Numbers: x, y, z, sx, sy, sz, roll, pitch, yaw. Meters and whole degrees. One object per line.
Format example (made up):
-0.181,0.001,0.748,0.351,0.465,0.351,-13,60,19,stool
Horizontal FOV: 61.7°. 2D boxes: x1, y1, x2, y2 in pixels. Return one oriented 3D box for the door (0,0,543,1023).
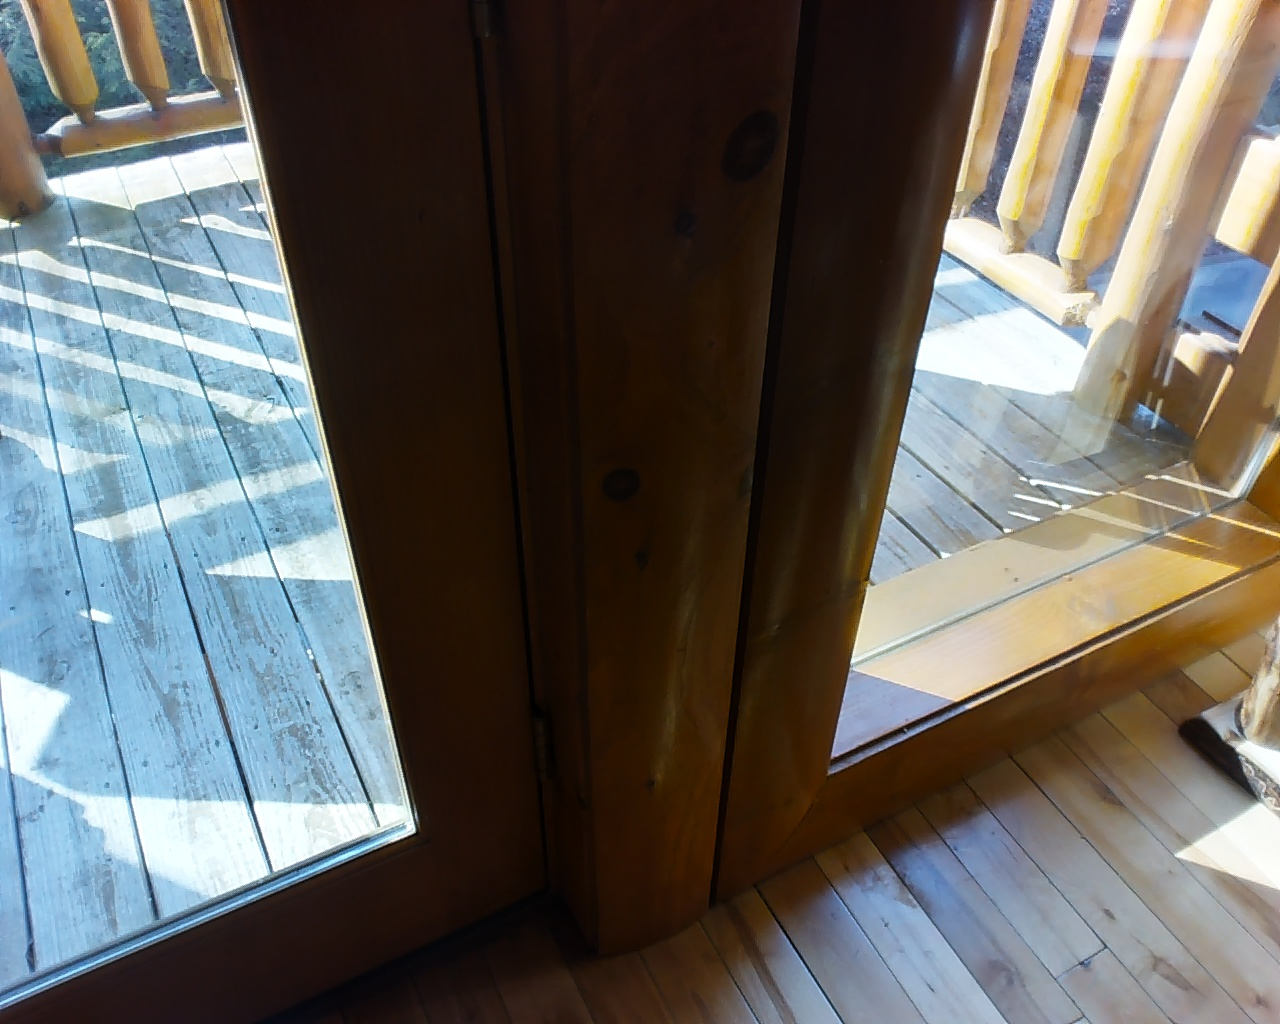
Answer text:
-0.480,-0.170,0.460,0.780,2.010,0.200,-19,47,-21,door
